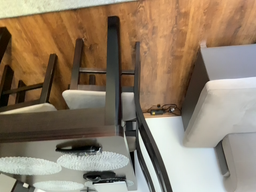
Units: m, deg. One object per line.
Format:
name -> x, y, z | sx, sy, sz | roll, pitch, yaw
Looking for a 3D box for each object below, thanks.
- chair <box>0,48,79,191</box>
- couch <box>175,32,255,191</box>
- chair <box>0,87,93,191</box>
chair -> -0.710, 0.230, 1.420 | 0.560, 1.030, 0.410 | -6, 147, 6
couch -> 0.900, 0.200, 1.640 | 0.850, 0.840, 1.030 | -5, 147, 4
chair -> -0.650, 0.490, 1.840 | 0.540, 1.030, 0.410 | -6, 147, 6
